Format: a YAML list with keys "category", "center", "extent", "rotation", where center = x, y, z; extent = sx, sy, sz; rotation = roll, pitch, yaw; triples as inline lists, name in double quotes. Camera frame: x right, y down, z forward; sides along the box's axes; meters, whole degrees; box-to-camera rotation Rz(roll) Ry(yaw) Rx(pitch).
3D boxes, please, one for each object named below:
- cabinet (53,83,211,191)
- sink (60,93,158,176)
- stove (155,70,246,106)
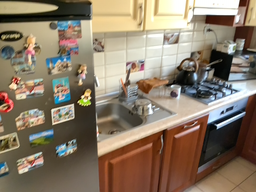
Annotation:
- category: "cabinet"
  center: [0.030, 0.470, 1.690]
  extent: [0.960, 0.860, 0.610]
  rotation: [-14, 28, -33]
- category: "sink"
  center: [-0.150, 0.210, 1.460]
  extent: [0.440, 0.210, 0.550]
  rotation: [-14, 28, -33]
- category: "stove"
  center: [0.660, -0.100, 1.960]
  extent: [0.580, 0.060, 0.560]
  rotation: [-14, 28, -33]
